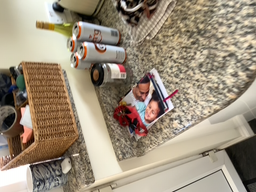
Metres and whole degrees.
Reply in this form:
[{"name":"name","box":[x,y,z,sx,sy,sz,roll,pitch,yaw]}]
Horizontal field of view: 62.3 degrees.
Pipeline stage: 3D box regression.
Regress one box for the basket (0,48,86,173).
[{"name":"basket","box":[-0.330,0.060,0.750,0.280,0.190,0.330,-36,64,47]}]
